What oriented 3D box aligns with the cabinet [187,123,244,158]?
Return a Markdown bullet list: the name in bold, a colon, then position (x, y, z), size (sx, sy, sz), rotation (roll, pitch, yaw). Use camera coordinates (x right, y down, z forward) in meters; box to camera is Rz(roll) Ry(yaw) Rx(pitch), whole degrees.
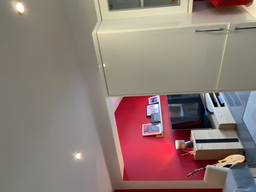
- **cabinet**: position (1.700, 0.890, 4.260), size (0.600, 0.900, 0.340), rotation (-86, -8, -49)
